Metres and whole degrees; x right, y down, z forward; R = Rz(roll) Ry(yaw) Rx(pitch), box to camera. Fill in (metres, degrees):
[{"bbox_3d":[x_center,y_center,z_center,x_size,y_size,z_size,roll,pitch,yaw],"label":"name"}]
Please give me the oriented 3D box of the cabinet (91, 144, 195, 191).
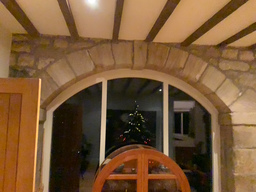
[{"bbox_3d":[0.160,1.310,2.710,1.220,1.290,0.510,2,-5,-5],"label":"cabinet"}]
